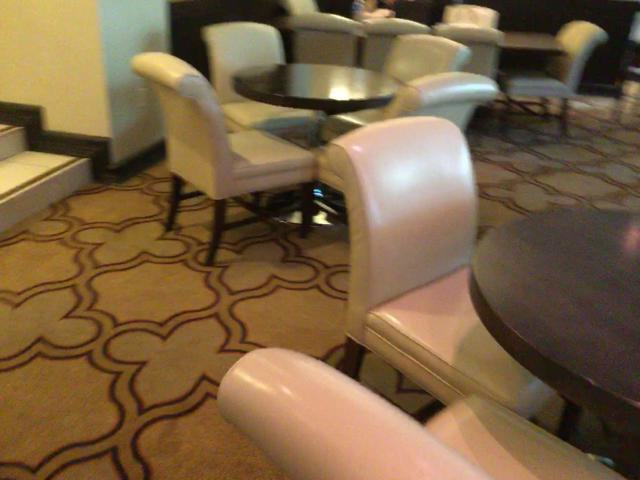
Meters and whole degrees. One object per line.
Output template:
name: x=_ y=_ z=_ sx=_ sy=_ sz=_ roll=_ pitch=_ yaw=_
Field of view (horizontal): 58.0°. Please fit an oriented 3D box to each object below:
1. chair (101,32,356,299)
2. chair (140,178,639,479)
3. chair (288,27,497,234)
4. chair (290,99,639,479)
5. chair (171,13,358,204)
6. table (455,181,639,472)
chair: x=-0.430 y=-0.430 z=2.800 sx=0.810 sy=0.940 sz=0.840 roll=-20 pitch=34 yaw=-34
chair: x=0.260 y=0.510 z=0.990 sx=0.820 sy=0.950 sz=0.550 roll=-21 pitch=34 yaw=-35
chair: x=0.420 y=-0.720 z=3.500 sx=0.860 sy=0.920 sz=0.860 roll=20 pitch=33 yaw=32
chair: x=0.400 y=0.180 z=1.660 sx=0.590 sy=0.920 sz=0.820 roll=-20 pitch=34 yaw=-34
chair: x=-0.370 y=-0.880 z=3.640 sx=0.860 sy=0.910 sz=0.910 roll=-11 pitch=30 yaw=-21
table: x=0.760 y=0.130 z=1.210 sx=0.890 sy=0.100 sz=0.900 roll=7 pitch=28 yaw=12
